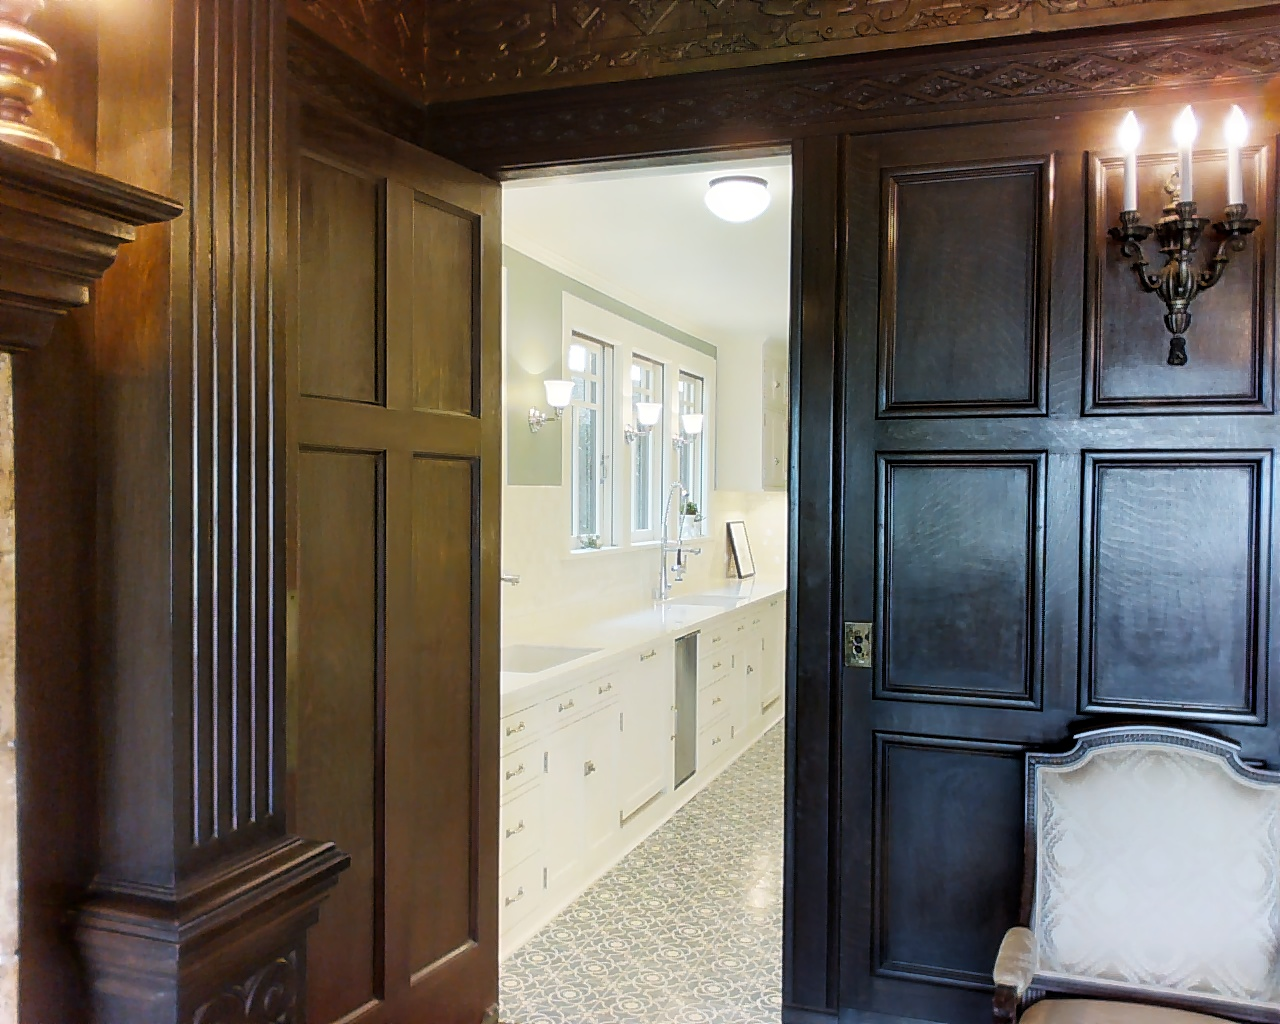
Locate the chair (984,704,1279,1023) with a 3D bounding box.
[{"bbox_3d":[1.030,0.980,2.090,0.670,1.040,0.750,1,1,19],"label":"chair"}]
